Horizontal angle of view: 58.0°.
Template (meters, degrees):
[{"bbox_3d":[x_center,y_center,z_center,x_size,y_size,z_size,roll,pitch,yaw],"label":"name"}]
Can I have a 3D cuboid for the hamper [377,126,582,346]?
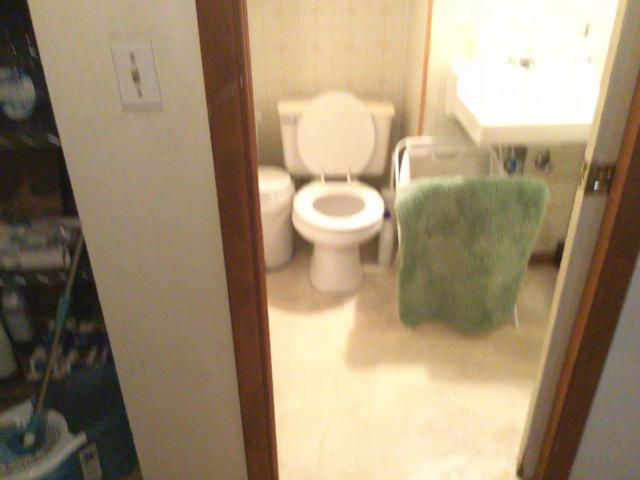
[{"bbox_3d":[0.540,-0.030,2.200,0.580,0.640,0.520,-3,29,0],"label":"hamper"}]

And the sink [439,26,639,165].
[{"bbox_3d":[0.780,-0.510,1.980,0.630,0.330,0.460,-3,29,0],"label":"sink"}]

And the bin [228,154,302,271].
[{"bbox_3d":[-0.230,-0.130,2.600,0.280,0.400,0.360,-3,29,0],"label":"bin"}]
